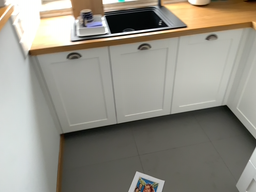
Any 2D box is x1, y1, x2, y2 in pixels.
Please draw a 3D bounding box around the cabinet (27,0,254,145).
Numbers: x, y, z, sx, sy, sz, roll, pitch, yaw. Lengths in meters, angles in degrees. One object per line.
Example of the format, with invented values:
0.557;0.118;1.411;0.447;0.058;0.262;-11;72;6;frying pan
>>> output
0.060;-0.300;1.890;1.430;0.850;0.840;-9;39;-7;cabinet
